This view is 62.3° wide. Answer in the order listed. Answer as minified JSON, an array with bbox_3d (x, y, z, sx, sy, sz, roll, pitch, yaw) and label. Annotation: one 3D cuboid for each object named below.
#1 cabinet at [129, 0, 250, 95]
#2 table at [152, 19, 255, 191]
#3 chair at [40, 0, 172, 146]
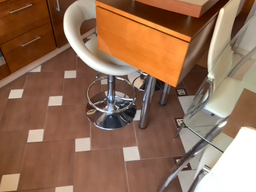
[{"bbox_3d":[0.490,-0.520,1.270,0.260,0.290,1.270,29,51,21],"label":"cabinet"},{"bbox_3d":[0.800,0.170,1.300,0.750,0.690,1.100,29,51,21],"label":"table"},{"bbox_3d":[-0.120,-0.200,1.480,0.460,0.820,0.600,29,51,21],"label":"chair"}]
